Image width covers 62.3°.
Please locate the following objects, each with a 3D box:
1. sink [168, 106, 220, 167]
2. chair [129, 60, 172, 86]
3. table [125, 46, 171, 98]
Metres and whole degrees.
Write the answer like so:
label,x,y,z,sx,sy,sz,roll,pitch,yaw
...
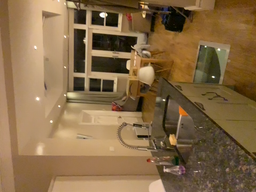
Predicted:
label,x,y,z,sx,sy,sz,roll,pitch,yaw
sink,0.530,0.330,1.780,0.350,0.230,0.370,-111,26,-69
chair,0.490,-0.500,4.750,0.500,0.840,0.470,176,97,-81
table,0.430,-0.690,5.510,1.640,0.740,0.950,-111,26,-69
